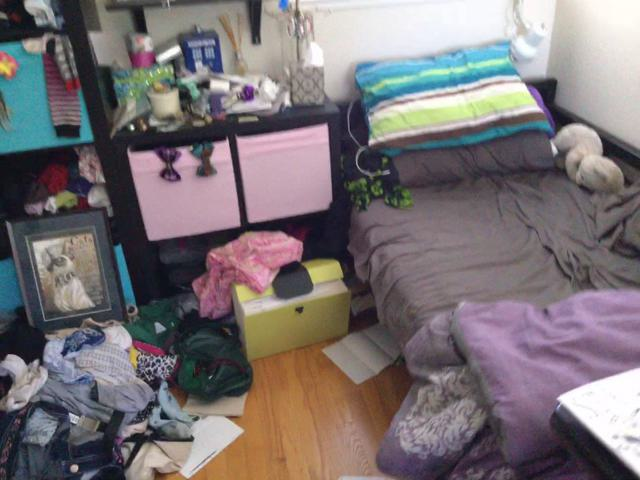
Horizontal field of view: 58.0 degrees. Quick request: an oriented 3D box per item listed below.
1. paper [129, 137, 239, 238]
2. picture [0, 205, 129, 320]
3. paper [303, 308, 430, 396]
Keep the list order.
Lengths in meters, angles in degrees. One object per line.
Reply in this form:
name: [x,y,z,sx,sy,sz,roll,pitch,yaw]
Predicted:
paper: [-0.460,-0.180,1.990,0.330,0.320,0.050,-7,27,-12]
picture: [-0.860,0.070,1.970,0.350,0.340,0.090,-7,8,-12]
paper: [0.170,0.390,2.080,0.380,0.050,0.260,-21,33,-36]
